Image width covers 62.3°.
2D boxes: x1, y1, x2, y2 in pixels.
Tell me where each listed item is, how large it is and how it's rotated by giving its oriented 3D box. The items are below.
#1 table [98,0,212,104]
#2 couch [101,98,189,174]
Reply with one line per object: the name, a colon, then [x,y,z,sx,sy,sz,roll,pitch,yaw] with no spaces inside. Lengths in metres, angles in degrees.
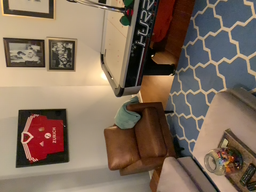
table: [0.260,-1.120,2.710,1.220,0.860,2.090,-122,36,-53]
couch: [0.160,0.580,3.000,0.910,0.820,0.780,127,137,-58]
